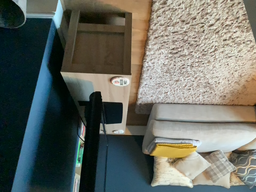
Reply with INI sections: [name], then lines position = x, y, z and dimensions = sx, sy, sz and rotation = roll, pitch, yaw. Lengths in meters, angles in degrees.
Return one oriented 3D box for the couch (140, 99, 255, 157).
[couch]
position = 0.810, 0.490, 2.880
dimensions = 1.210, 0.460, 1.050
rotation = 2, 155, -2
